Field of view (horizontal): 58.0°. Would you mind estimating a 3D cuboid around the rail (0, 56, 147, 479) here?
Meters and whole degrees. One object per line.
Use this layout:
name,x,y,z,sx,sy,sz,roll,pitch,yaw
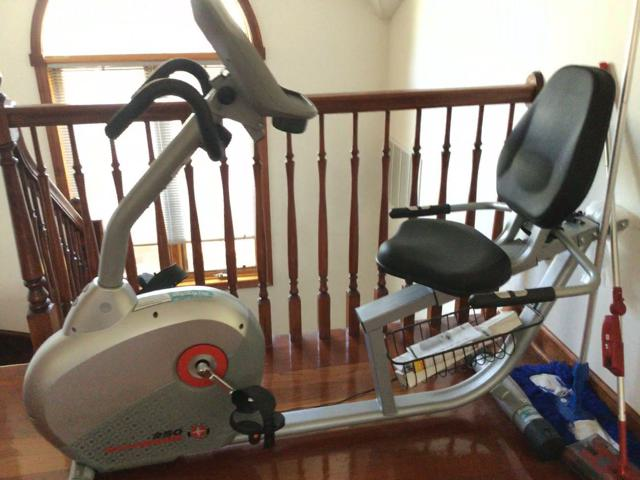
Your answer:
rail,-0.960,0.070,2.310,0.270,1.500,0.960,-5,20,-11
